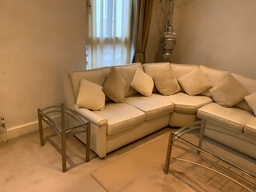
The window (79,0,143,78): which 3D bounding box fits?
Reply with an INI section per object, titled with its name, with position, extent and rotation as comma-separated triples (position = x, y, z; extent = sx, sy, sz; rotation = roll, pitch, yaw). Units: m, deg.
[window]
position = -0.210, -1.310, 3.150
extent = 0.150, 1.940, 1.110
rotation = 22, 27, 39
